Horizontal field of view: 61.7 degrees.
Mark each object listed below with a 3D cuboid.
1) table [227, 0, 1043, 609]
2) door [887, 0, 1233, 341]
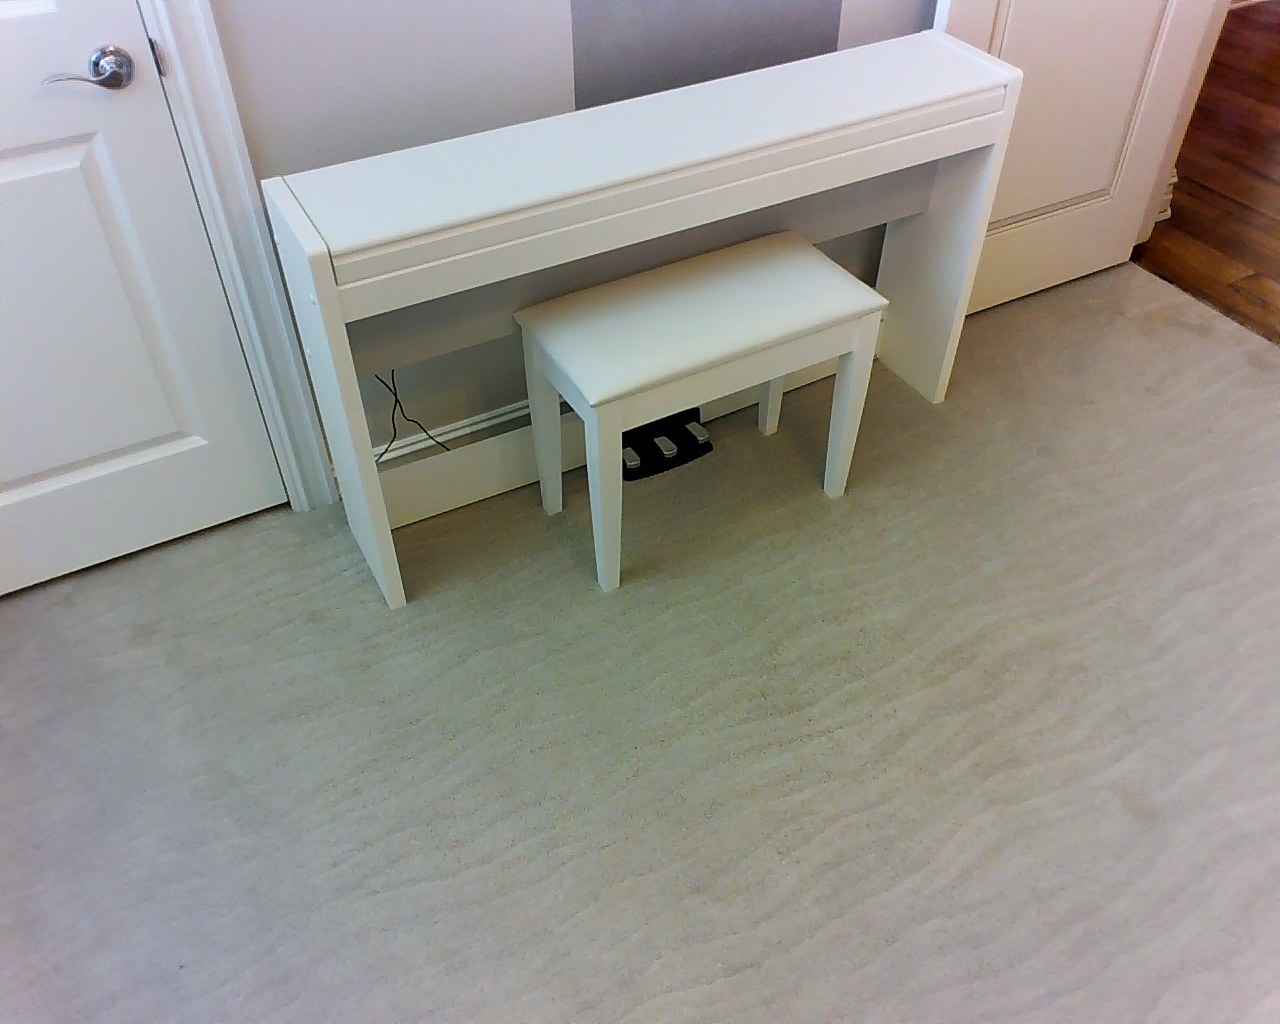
[{"bbox_3d":[0.040,-0.450,2.110,1.390,0.770,0.390,-21,47,-20],"label":"table"},{"bbox_3d":[0.980,-1.340,2.080,0.840,2.080,0.060,-21,47,-20],"label":"door"}]
